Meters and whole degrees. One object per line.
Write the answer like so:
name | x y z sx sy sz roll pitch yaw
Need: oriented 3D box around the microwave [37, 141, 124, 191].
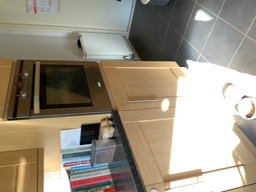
microwave | -0.290 0.630 1.280 0.600 0.460 0.290 -115 30 -46

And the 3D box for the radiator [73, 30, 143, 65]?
radiator | -0.320 -0.720 3.150 0.640 0.900 0.200 -116 31 -47
